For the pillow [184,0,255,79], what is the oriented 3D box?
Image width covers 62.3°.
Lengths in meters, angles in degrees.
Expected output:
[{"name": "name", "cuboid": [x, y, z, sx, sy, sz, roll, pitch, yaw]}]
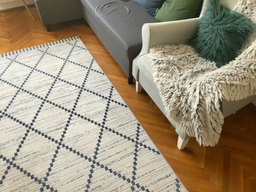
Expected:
[{"name": "pillow", "cuboid": [0.620, -0.400, 1.470, 0.200, 0.380, 0.370, -18, 49, -18]}]

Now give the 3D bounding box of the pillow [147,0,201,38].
[{"name": "pillow", "cuboid": [0.380, -0.820, 1.870, 0.190, 0.410, 0.410, -12, 71, -17]}]
